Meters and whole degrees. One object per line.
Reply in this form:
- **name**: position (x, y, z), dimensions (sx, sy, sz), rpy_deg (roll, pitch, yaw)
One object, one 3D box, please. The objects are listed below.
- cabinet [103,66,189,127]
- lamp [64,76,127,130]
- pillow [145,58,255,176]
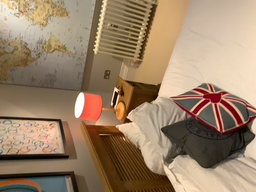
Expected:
- **cabinet**: position (0.180, 0.010, 2.350), dimensions (0.440, 0.720, 0.500), rpy_deg (42, 123, 58)
- **lamp**: position (-0.310, 0.070, 1.960), dimensions (0.310, 0.450, 0.380), rpy_deg (42, 123, 58)
- **pillow**: position (0.440, 0.080, 1.230), dimensions (0.470, 0.450, 0.320), rpy_deg (45, 161, 54)
